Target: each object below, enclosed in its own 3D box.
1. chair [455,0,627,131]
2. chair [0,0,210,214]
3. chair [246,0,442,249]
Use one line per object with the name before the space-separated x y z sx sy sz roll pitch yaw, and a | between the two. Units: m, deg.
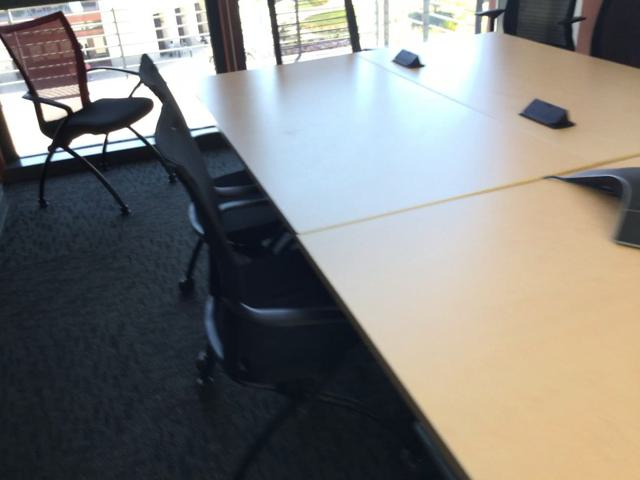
chair | 1.320 -1.270 3.500 0.690 0.920 0.690 -27 36 -30
chair | -1.130 -0.720 3.040 0.640 0.900 0.650 9 35 28
chair | 0.110 -0.630 2.690 0.590 1.000 0.740 -16 32 -13
